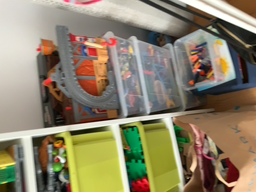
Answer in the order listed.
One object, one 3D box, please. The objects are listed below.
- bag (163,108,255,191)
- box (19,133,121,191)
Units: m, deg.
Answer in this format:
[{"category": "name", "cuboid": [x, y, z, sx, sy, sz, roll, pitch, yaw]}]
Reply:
[{"category": "bag", "cuboid": [0.500, 0.290, 1.030, 0.310, 0.530, 0.410, -21, 75, 49]}, {"category": "box", "cuboid": [-0.220, 0.340, 0.790, 0.290, 0.260, 0.330, -25, 71, 49]}]
